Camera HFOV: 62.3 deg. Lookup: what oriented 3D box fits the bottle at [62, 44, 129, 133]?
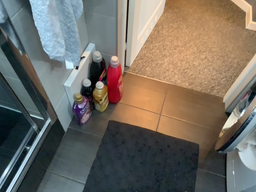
[{"bbox_3d":[-0.190,-0.050,1.420,0.210,0.320,0.450,22,59,11],"label":"bottle"}]
